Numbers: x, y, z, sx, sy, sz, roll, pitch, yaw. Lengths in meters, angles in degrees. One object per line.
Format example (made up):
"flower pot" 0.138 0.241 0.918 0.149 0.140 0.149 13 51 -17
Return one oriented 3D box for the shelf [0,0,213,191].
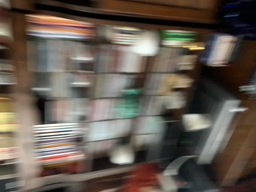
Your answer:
"shelf" -0.120 0.010 1.070 0.300 0.790 0.820 -125 39 -51
